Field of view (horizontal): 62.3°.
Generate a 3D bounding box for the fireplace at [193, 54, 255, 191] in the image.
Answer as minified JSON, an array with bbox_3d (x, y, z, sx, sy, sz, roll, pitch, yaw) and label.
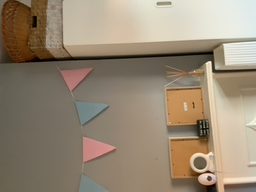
[{"bbox_3d":[1.030,0.170,1.450,0.230,1.020,0.890,101,166,-83],"label":"fireplace"}]
